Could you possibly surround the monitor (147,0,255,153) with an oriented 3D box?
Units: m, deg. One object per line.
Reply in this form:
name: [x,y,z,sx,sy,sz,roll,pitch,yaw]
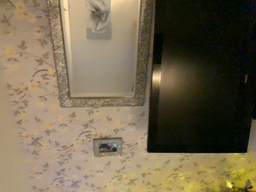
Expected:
monitor: [0.450,-0.140,1.230,0.060,0.640,0.960,-117,28,-78]
